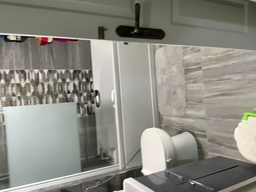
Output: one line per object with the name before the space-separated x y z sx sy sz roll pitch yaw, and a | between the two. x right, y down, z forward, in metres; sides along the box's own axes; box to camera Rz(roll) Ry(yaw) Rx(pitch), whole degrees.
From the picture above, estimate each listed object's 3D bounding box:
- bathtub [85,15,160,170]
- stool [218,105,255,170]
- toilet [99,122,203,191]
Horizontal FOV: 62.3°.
bathtub | -0.100 -0.040 2.610 0.670 0.550 1.610 -8 87 62
stool | 0.780 0.250 1.320 0.360 0.190 0.340 5 98 62
toilet | 0.210 0.630 1.910 0.430 0.780 0.670 -6 88 62
